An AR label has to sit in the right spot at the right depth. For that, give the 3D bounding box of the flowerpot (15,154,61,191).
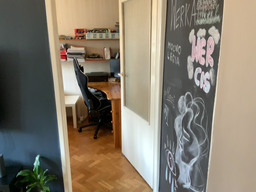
[{"bbox_3d":[-0.750,0.780,1.820,0.290,0.530,0.160,-1,15,-3],"label":"flowerpot"}]

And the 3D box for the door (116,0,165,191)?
[{"bbox_3d":[0.080,-0.080,2.330,0.110,2.220,0.980,-6,16,-19],"label":"door"}]
